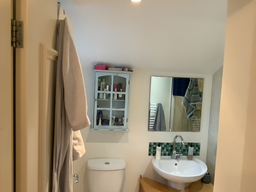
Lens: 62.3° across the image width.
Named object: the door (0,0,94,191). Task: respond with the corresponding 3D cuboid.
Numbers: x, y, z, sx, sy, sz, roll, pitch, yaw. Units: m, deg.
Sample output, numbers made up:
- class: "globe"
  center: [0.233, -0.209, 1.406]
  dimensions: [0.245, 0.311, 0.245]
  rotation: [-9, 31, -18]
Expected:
- class: "door"
  center: [-0.370, 0.480, 1.150]
  dimensions: [0.120, 2.250, 1.190]
  rotation: [3, 6, -2]
